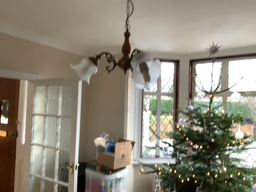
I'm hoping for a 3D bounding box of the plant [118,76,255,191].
[{"bbox_3d":[0.890,0.840,2.480,1.510,1.930,1.300,0,-3,34],"label":"plant"}]

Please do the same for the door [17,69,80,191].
[{"bbox_3d":[-0.960,0.740,2.450,0.970,2.040,0.070,0,-3,34],"label":"door"}]
